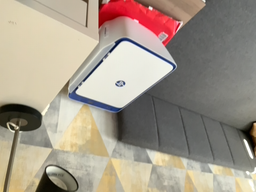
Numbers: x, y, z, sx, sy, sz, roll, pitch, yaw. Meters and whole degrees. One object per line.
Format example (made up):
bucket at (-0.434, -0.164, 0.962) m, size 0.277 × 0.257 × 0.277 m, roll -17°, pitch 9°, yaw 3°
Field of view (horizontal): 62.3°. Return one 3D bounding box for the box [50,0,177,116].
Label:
box at (-0.080, -0.120, 0.930) m, size 0.350 × 0.170 × 0.430 m, roll 20°, pitch 139°, yaw -31°

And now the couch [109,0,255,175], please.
couch at (0.970, 0.030, 1.510) m, size 2.060 × 0.750 × 0.850 m, roll 20°, pitch 139°, yaw -32°
